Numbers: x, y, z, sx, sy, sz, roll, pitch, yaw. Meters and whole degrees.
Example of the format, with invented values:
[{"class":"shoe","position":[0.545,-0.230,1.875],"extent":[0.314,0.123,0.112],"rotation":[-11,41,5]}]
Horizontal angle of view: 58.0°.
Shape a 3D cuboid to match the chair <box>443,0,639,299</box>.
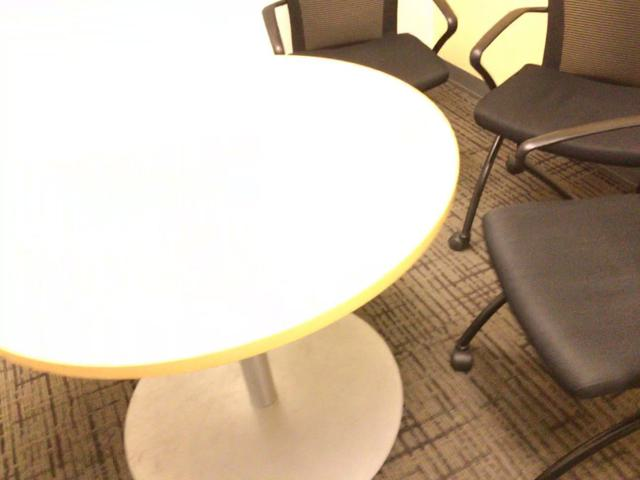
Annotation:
[{"class":"chair","position":[0.760,-0.420,1.580],"extent":[0.600,0.860,0.580],"rotation":[21,47,30]}]
